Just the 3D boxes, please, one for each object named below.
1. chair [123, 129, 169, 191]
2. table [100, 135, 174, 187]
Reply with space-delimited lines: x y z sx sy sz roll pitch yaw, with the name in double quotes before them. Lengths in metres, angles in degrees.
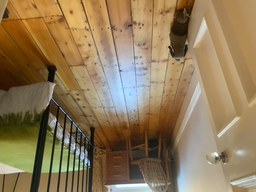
"chair" 0.250 1.060 3.330 0.400 0.910 0.540 16 148 -31
"table" 0.150 1.180 3.770 1.170 0.730 0.640 -4 152 3
